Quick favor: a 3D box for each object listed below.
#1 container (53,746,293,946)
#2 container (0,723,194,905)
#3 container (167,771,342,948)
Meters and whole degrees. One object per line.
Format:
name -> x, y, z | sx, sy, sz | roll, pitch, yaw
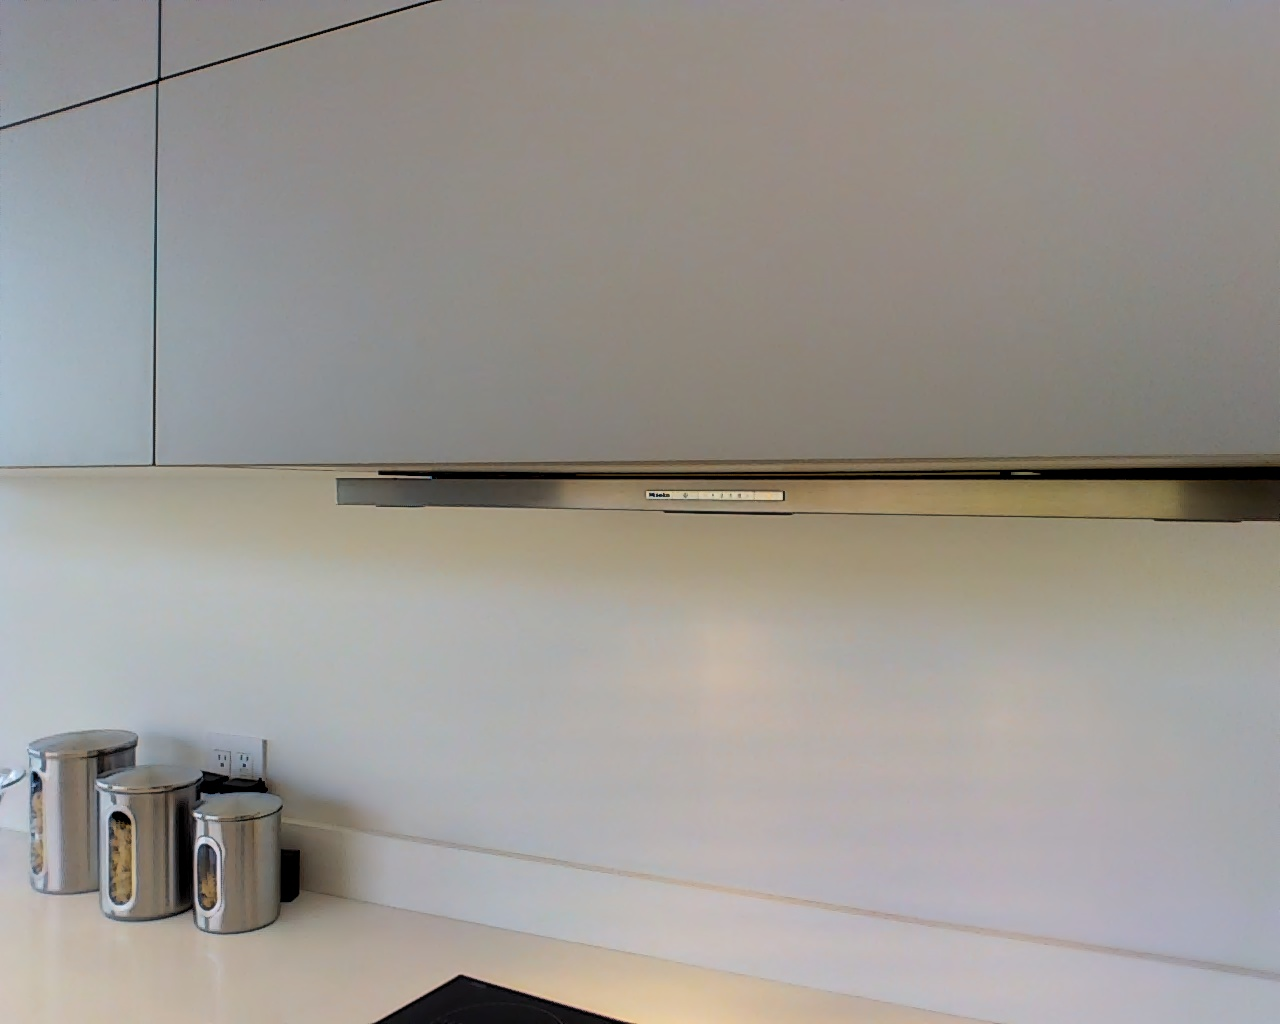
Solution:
container -> -0.700, 0.490, 1.630 | 0.220, 0.200, 0.250 | 1, 0, 28
container -> -0.870, 0.470, 1.720 | 0.190, 0.210, 0.220 | 1, 0, 26
container -> -0.560, 0.500, 1.580 | 0.140, 0.180, 0.200 | 1, 0, 26
